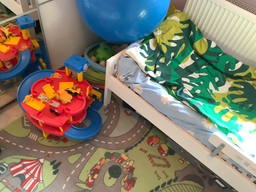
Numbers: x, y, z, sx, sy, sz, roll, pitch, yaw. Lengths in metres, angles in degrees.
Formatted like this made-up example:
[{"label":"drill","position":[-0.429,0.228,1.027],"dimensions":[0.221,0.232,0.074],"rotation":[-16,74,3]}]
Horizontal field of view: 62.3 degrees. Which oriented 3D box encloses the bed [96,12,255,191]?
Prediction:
[{"label":"bed","position":[0.730,0.180,1.420],"dimensions":[1.750,0.410,0.890],"rotation":[38,56,18]}]
